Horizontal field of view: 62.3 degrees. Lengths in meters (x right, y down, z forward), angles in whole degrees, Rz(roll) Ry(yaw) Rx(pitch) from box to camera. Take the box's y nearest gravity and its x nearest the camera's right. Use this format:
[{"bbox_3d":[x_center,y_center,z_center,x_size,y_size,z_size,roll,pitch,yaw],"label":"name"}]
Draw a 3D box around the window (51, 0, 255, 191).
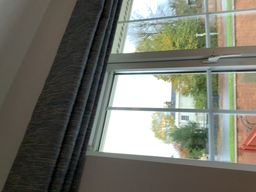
[{"bbox_3d":[0.440,-0.470,1.090,0.330,1.090,1.730,65,-149,-57],"label":"window"}]
